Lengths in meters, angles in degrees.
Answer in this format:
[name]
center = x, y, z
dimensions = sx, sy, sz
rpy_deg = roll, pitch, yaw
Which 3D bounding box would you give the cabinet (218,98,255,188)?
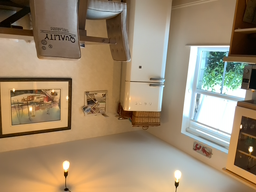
[cabinet]
center = 1.460, 0.520, 1.980
dimensions = 0.320, 0.780, 1.030
rpy_deg = -4, -166, -34
